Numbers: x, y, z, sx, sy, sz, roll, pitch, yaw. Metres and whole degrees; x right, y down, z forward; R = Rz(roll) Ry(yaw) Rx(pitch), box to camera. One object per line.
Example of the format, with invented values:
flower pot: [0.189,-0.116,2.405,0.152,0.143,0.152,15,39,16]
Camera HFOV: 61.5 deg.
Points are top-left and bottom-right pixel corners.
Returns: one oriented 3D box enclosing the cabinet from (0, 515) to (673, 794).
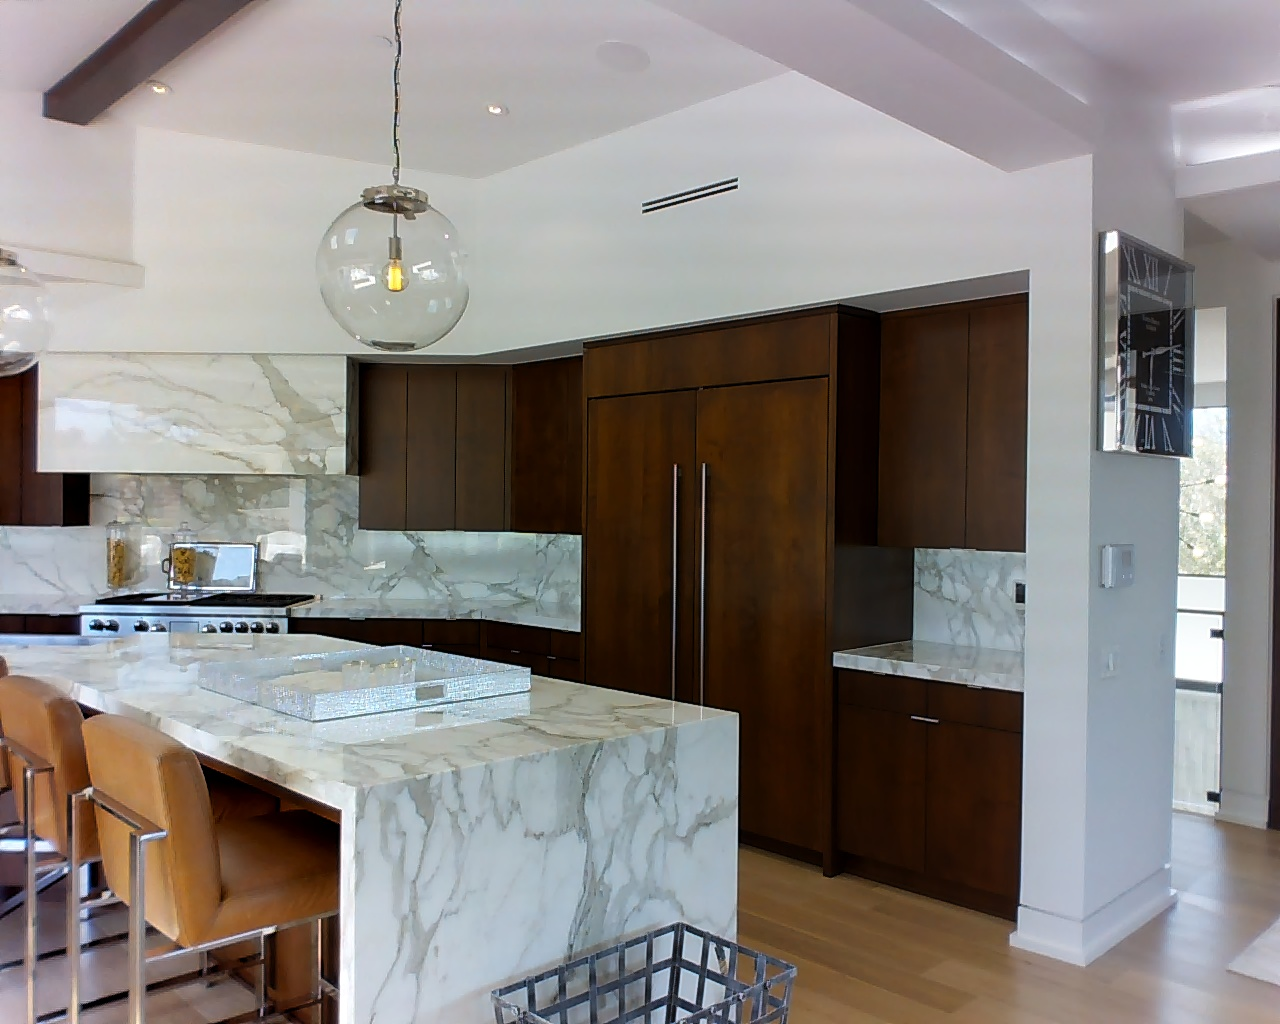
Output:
cabinet: [-2.090,0.750,6.330,4.540,1.410,1.300,1,0,1]

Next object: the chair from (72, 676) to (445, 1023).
chair: [-0.900,0.980,2.550,0.660,1.050,0.550,0,0,-44]

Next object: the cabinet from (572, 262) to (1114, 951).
cabinet: [0.780,0.330,5.010,0.710,2.480,2.500,0,0,-44]

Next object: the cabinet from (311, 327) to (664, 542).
cabinet: [-0.790,-0.410,6.300,1.850,1.110,1.320,1,0,1]
